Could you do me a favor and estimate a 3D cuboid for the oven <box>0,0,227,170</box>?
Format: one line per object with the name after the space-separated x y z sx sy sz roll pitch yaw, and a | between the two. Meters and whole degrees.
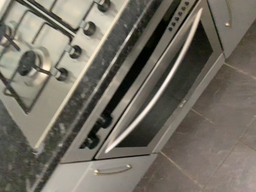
-0.020 -0.140 1.010 0.610 0.900 0.580 38 98 30 | oven
